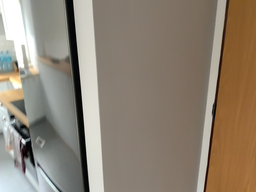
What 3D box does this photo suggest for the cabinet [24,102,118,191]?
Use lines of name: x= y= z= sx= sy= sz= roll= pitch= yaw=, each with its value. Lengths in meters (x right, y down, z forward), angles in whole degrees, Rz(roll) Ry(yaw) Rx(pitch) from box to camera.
cabinet: x=-0.470 y=0.570 z=1.890 sx=0.580 sy=0.820 sz=0.460 roll=-18 pitch=25 yaw=-41

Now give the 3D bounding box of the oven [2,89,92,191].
oven: x=-0.830 y=0.450 z=2.240 sx=0.590 sy=0.850 sz=0.590 roll=-18 pitch=25 yaw=-41

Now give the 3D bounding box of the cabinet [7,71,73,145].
cabinet: x=-1.320 y=0.130 z=3.210 sx=0.600 sy=0.840 sz=0.680 roll=-18 pitch=25 yaw=-41
